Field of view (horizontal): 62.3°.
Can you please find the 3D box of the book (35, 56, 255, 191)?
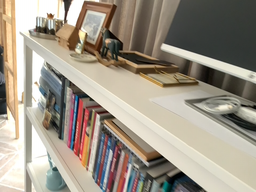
[{"bbox_3d":[-0.100,0.130,0.790,0.220,0.300,0.980,-5,26,-36],"label":"book"}]
